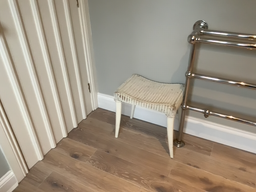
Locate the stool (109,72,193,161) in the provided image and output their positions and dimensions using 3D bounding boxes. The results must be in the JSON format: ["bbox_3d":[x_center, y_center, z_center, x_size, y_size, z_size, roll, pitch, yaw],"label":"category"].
[{"bbox_3d":[0.170,0.140,1.640,0.510,0.450,0.340,16,37,22],"label":"stool"}]
